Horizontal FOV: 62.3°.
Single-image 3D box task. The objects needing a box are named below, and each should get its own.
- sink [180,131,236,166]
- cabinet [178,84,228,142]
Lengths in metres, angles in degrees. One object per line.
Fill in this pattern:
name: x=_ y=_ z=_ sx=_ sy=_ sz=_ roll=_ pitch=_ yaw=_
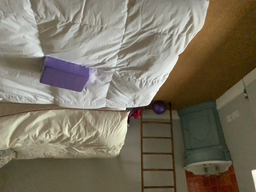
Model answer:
sink: x=0.940 y=0.650 z=2.570 sx=0.440 sy=0.310 sz=0.450 roll=2 pitch=153 yaw=-8
cabinet: x=0.950 y=0.230 z=2.790 sx=0.380 sy=0.640 sz=0.430 roll=2 pitch=153 yaw=-8
